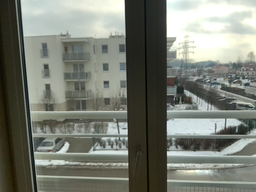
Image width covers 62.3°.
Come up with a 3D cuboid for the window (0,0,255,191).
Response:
[{"bbox_3d":[0.110,0.340,1.050,1.500,2.310,0.150,-2,7,2],"label":"window"}]
